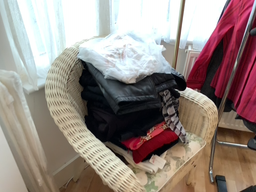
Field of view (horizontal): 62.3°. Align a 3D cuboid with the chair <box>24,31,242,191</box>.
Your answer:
[{"bbox_3d":[0.020,0.210,1.160,0.650,0.830,0.690,31,44,34],"label":"chair"}]
